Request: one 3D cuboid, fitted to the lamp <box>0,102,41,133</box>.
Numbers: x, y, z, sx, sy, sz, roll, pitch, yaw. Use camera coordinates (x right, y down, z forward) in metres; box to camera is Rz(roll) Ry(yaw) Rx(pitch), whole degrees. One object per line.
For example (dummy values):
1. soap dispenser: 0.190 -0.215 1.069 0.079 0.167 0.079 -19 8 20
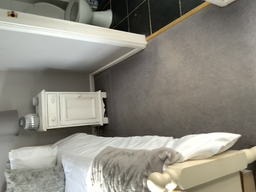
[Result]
1. lamp: -1.130 0.220 2.160 0.290 0.400 0.280 -15 78 57
